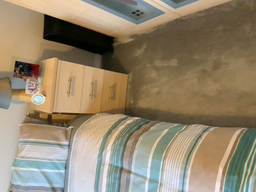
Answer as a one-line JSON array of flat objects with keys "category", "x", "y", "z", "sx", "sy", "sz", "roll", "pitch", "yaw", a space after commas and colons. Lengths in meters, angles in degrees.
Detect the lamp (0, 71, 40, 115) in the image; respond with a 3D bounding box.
[{"category": "lamp", "x": -0.960, "y": -0.020, "z": 1.690, "sx": 0.270, "sy": 0.390, "sz": 0.310, "roll": 1, "pitch": 85, "yaw": 49}]
